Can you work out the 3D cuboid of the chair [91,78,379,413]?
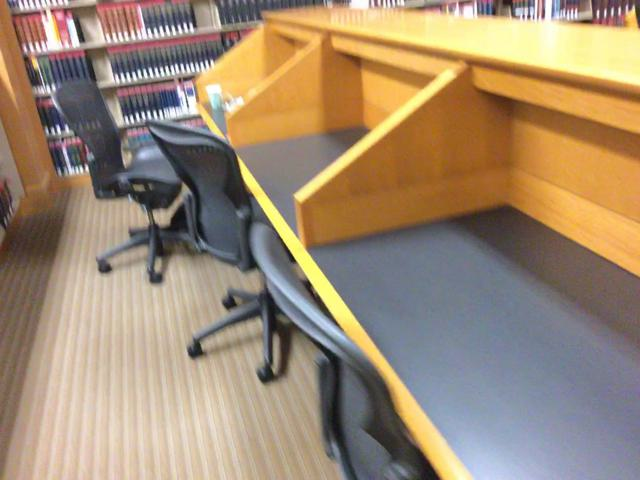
[{"bbox_3d":[-0.300,-0.040,2.350,0.690,1.050,0.690,-29,32,-35],"label":"chair"}]

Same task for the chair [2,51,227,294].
[{"bbox_3d":[-1.020,-0.380,3.150,0.730,1.060,0.670,-8,25,2],"label":"chair"}]

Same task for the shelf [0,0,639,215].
[{"bbox_3d":[0.950,-2.040,5.190,7.070,1.820,0.670,-15,26,-12],"label":"shelf"}]

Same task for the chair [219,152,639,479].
[{"bbox_3d":[0.230,0.450,1.230,0.590,1.060,0.540,-15,26,-12],"label":"chair"}]
